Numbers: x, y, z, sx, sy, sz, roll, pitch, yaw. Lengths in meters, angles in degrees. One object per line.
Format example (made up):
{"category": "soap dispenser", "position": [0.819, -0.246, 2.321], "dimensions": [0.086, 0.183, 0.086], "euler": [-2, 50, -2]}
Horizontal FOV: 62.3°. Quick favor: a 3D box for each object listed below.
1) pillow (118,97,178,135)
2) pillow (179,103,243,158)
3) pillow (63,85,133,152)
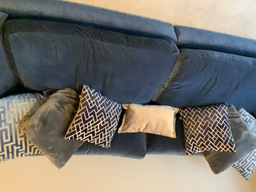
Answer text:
{"category": "pillow", "position": [0.160, 0.180, 1.830], "dimensions": [0.460, 0.220, 0.200], "euler": [8, 147, -15]}
{"category": "pillow", "position": [0.680, 0.280, 1.790], "dimensions": [0.350, 0.360, 0.150], "euler": [-17, 133, -7]}
{"category": "pillow", "position": [-0.230, 0.180, 1.650], "dimensions": [0.200, 0.310, 0.460], "euler": [-46, 128, 7]}
